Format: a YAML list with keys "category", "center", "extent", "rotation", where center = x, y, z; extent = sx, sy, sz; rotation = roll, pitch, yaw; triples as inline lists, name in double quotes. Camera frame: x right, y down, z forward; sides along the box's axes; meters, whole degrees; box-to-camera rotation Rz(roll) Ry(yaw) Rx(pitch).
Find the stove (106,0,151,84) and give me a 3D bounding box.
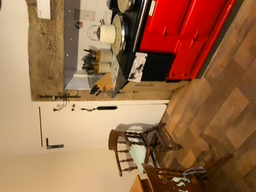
- category: "stove"
  center: [-0.020, -0.730, 1.990]
  extent: [0.690, 0.100, 1.030]
  rotation: [-110, 27, -44]
